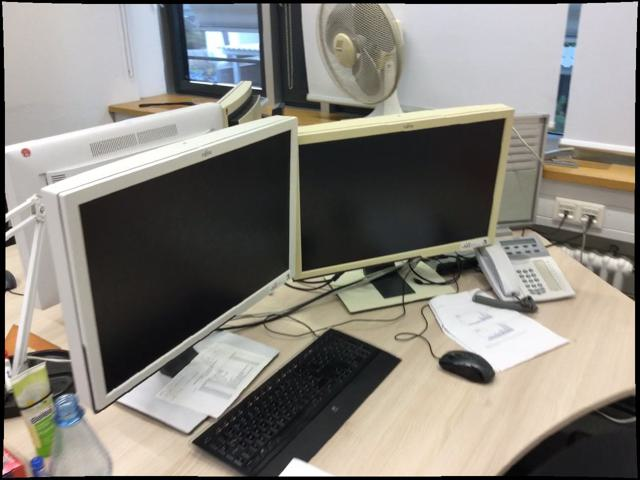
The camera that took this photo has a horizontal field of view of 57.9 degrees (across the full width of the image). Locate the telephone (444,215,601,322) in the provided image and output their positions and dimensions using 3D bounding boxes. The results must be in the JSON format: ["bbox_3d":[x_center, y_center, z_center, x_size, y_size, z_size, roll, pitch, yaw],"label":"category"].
[{"bbox_3d":[0.539,0.060,1.540,0.300,0.100,0.310,16,30,34],"label":"telephone"}]
